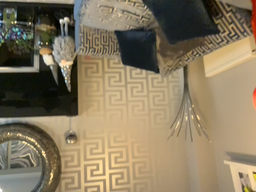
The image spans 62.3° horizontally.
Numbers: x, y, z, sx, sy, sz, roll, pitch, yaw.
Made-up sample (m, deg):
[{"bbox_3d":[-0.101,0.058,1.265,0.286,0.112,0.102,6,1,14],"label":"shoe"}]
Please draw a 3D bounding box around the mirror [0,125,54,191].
[{"bbox_3d":[-1.210,0.760,2.130,0.880,0.900,0.060,-1,172,-11],"label":"mirror"}]
